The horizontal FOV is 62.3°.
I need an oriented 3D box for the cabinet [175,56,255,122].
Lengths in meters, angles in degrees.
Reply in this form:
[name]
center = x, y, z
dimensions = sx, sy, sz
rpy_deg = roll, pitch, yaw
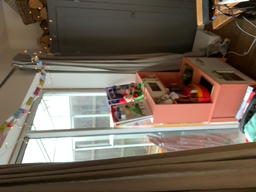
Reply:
[cabinet]
center = 0.870, -0.110, 2.140
dimensions = 0.710, 0.490, 0.370
rpy_deg = -112, 24, -59
